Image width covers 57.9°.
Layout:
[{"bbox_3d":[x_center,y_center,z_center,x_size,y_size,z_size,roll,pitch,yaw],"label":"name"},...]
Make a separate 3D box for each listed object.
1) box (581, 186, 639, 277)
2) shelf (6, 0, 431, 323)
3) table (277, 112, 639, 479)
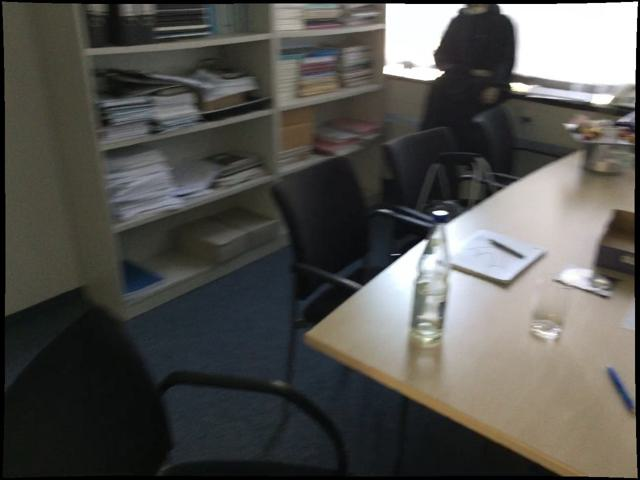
[{"bbox_3d":[0.969,-0.020,1.680,0.300,0.080,0.450,17,30,28],"label":"box"},{"bbox_3d":[-0.270,-1.071,2.900,0.550,2.172,2.249,21,33,35],"label":"shelf"},{"bbox_3d":[0.979,0.220,2.000,0.910,0.721,2.279,22,34,35],"label":"table"}]
